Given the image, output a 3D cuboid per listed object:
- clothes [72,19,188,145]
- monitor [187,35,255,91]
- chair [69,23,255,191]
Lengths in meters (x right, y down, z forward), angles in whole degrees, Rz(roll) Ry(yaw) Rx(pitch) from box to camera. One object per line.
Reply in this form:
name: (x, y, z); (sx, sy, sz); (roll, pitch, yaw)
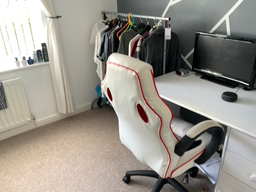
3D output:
clothes: (-0.030, -0.250, 2.330); (0.610, 1.010, 1.070); (-20, 32, -35)
monitor: (0.720, -0.280, 1.690); (0.030, 0.330, 0.540); (-17, 30, -33)
chair: (0.220, 0.180, 1.450); (0.860, 1.180, 0.650); (-20, 31, -35)
